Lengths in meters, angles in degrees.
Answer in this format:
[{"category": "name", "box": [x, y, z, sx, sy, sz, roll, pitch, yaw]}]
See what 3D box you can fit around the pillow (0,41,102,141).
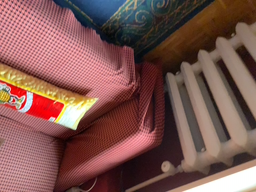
[{"category": "pillow", "box": [-0.440, -0.020, 0.900, 0.640, 0.130, 0.250, 31, 127, -33]}]
